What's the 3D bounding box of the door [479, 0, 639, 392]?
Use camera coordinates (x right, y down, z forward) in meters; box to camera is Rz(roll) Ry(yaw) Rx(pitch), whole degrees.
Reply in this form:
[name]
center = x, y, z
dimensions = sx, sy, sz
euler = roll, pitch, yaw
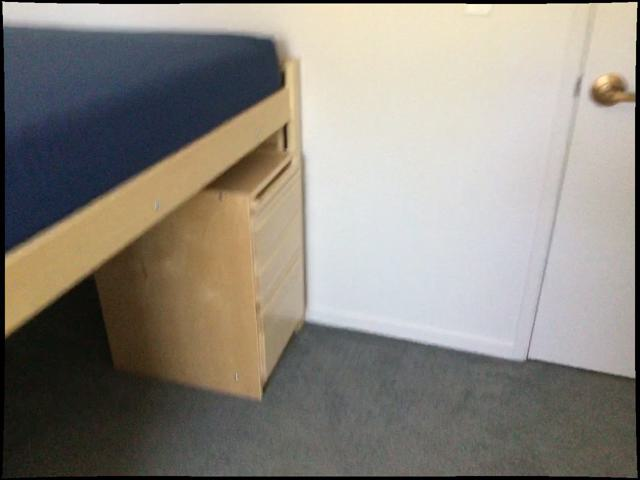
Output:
[door]
center = 1.047, -0.221, 1.570
dimensions = 1.008, 1.563, 0.080
euler = 7, 27, 15
